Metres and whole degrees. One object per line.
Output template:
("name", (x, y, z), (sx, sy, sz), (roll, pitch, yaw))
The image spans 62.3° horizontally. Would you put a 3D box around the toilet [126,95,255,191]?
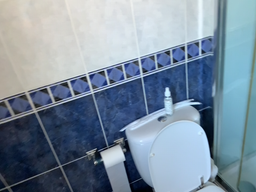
("toilet", (0.370, 0.550, 1.020), (0.420, 0.810, 0.690), (-18, 30, -14))
